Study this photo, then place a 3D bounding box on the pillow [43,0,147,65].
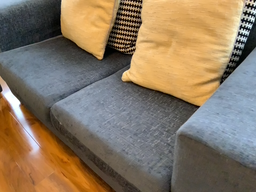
[{"bbox_3d":[-0.200,-0.450,1.130,0.470,0.440,0.200,30,75,36],"label":"pillow"}]
